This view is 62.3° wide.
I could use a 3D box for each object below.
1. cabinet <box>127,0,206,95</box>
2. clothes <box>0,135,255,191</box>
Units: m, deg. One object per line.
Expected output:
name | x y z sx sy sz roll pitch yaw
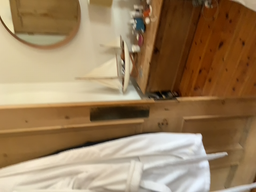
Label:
cabinet | 0.370 -0.600 2.450 0.600 0.470 0.990 -117 31 -52
clothes | -0.070 0.490 1.010 0.190 1.340 0.450 -120 33 -55
